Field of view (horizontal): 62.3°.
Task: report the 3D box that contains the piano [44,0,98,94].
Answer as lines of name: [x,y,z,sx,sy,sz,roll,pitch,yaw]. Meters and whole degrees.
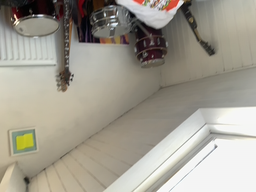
piano: [-0.610,-0.620,2.220,0.420,1.160,0.240,-6,178,-25]
